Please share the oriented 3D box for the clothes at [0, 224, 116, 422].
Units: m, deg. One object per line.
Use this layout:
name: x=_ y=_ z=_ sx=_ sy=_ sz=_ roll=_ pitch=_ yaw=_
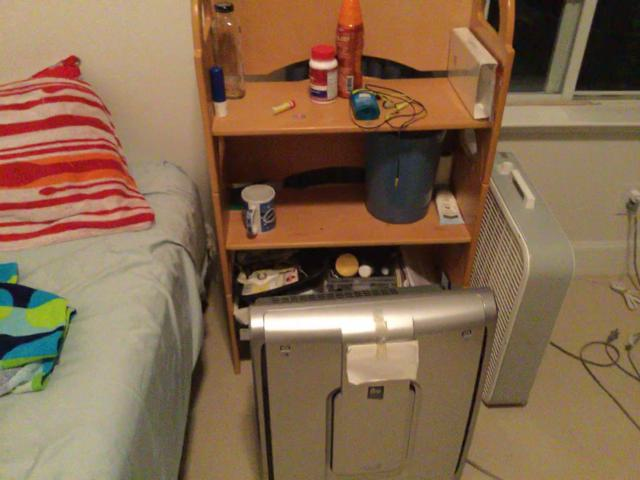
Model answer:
clothes: x=-0.730 y=0.140 z=1.130 sx=0.500 sy=0.090 sz=0.470 roll=-2 pitch=33 yaw=2
